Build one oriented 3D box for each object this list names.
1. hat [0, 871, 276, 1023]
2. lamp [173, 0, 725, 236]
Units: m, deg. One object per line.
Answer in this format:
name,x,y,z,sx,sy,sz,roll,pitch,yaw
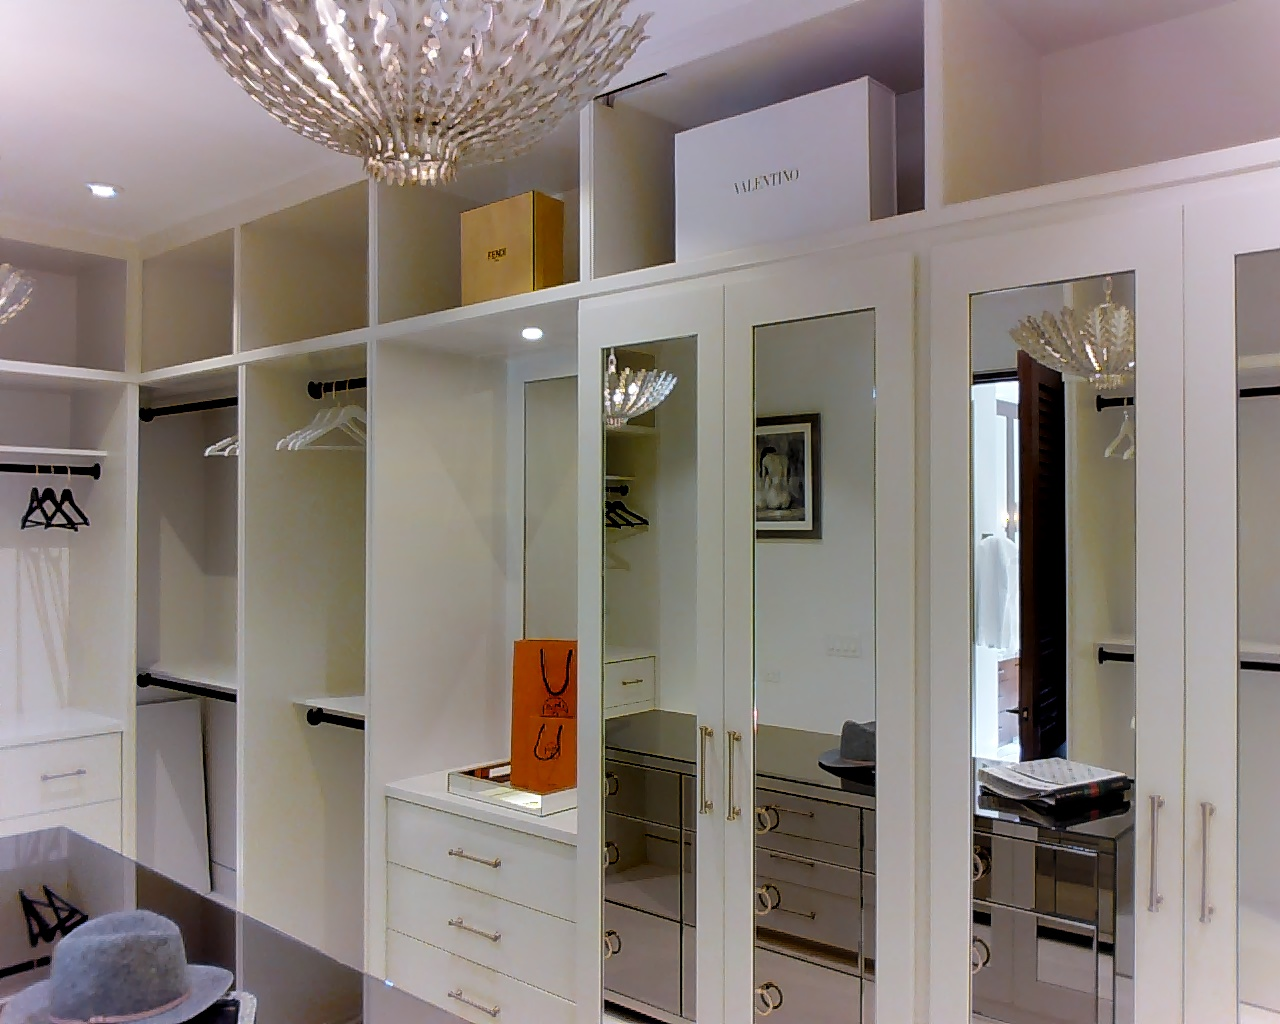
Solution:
hat,-0.790,0.700,1.680,0.310,0.140,0.300,0,-1,40
lamp,-0.240,-0.500,1.200,0.480,0.210,0.490,1,-1,-28
